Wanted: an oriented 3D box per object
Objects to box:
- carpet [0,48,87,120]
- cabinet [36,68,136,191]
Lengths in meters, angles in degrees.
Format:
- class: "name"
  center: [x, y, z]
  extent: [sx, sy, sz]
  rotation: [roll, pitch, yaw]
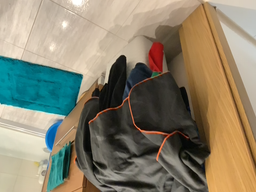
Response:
- class: "carpet"
  center: [-0.720, -0.050, 1.620]
  extent: [0.630, 0.040, 0.630]
  rotation: [19, 141, -23]
- class: "cabinet"
  center: [-0.310, 0.380, 1.510]
  extent: [0.350, 0.780, 0.780]
  rotation: [22, 140, -26]
